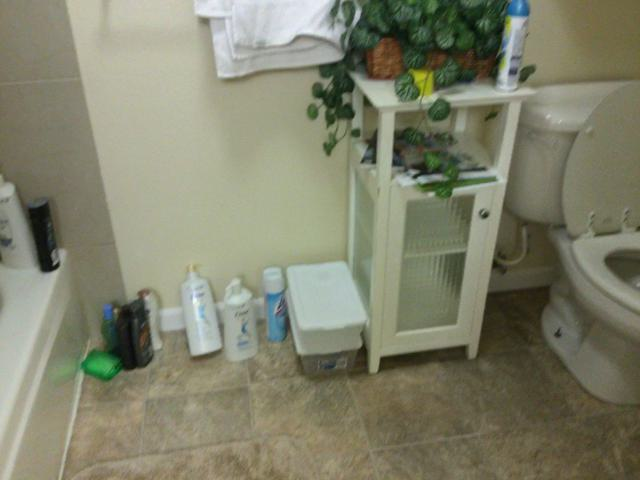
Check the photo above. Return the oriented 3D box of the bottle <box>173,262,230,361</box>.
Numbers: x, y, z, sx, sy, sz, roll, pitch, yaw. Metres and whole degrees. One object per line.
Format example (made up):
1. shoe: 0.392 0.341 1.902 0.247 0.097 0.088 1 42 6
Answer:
1. bottle: -0.380 0.230 1.870 0.150 0.250 0.170 -6 30 -9

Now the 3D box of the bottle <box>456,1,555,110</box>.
1. bottle: 0.440 -0.450 1.400 0.150 0.220 0.150 -6 30 -9

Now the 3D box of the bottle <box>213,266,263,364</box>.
1. bottle: -0.260 0.240 1.840 0.130 0.280 0.120 -6 30 -9

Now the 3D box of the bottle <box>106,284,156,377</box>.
1. bottle: -0.590 0.280 1.820 0.100 0.190 0.210 -6 30 -9

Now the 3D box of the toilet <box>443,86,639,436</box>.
1. toilet: 0.870 0.020 1.640 0.820 0.760 0.540 -6 30 -8

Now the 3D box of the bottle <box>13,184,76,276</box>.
1. bottle: -0.780 -0.030 1.650 0.090 0.210 0.150 -6 30 -9
